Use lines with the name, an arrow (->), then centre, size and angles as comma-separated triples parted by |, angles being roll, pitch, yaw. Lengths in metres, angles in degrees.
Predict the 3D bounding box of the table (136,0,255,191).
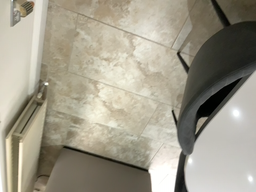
table -> 1.040, 0.140, 1.220 | 1.550, 0.770, 1.430 | 18, 129, -8

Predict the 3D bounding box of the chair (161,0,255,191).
chair -> 0.520, -0.110, 1.020 | 0.520, 0.860, 0.520 | 19, 129, -9

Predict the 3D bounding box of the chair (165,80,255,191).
chair -> 0.590, 0.390, 1.430 | 0.510, 0.860, 0.400 | -28, 121, 26
